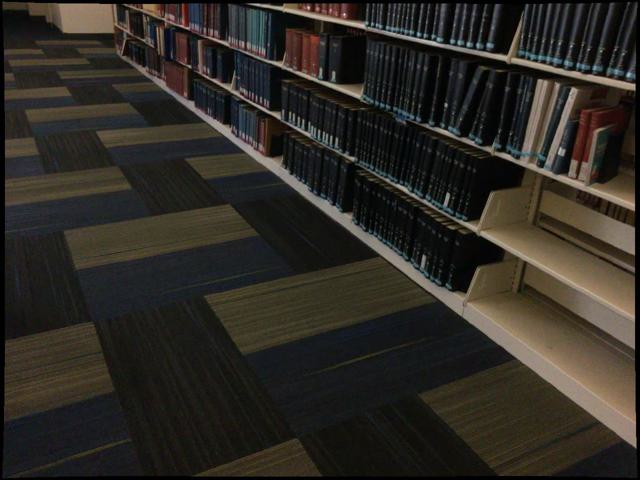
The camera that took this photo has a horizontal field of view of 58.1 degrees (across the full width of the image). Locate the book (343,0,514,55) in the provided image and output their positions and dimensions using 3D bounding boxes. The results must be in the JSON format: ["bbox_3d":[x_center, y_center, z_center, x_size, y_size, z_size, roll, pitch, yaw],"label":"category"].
[{"bbox_3d":[0.389,-0.952,2.300,0.180,0.291,0.840,-13,29,-26],"label":"book"}]

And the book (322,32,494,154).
[{"bbox_3d":[0.329,-0.682,2.530,0.210,0.341,0.920,-13,29,-26],"label":"book"}]

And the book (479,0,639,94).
[{"bbox_3d":[0.858,-0.612,1.650,0.090,0.321,0.990,-13,29,-26],"label":"book"}]

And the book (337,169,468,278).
[{"bbox_3d":[0.349,-0.110,2.720,0.090,0.190,0.890,-13,29,-26],"label":"book"}]

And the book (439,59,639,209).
[{"bbox_3d":[0.748,-0.411,2.070,0.230,0.361,0.650,-13,29,-26],"label":"book"}]

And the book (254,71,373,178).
[{"bbox_3d":[-0.080,-0.732,3.470,0.190,0.371,1.120,-13,29,-26],"label":"book"}]

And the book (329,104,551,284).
[{"bbox_3d":[0.429,-0.271,2.540,0.190,0.391,1.220,-13,29,-26],"label":"book"}]
